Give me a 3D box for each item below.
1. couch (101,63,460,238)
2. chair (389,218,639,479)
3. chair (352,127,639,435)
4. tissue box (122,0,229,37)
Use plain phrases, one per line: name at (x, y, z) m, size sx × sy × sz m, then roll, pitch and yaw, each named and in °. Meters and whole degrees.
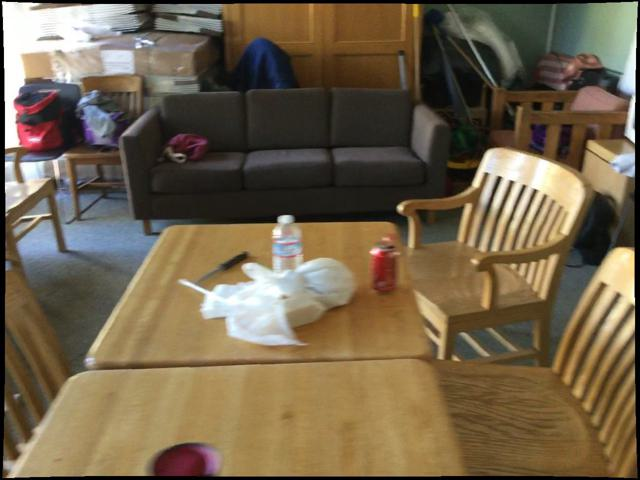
couch at (-0.210, -0.611, 3.700) m, size 1.958 × 0.771 × 0.840 m, roll -4°, pitch 26°, yaw -2°
chair at (0.539, 0.450, 1.430) m, size 0.649 × 0.811 × 0.560 m, roll -4°, pitch 26°, yaw -2°
chair at (0.599, 0.100, 2.170) m, size 0.779 × 0.811 × 0.700 m, roll -8°, pitch 26°, yaw -10°
tissue box at (-1.099, -1.802, 4.540) m, size 0.679 × 0.270 × 0.750 m, roll -4°, pitch 26°, yaw -2°
